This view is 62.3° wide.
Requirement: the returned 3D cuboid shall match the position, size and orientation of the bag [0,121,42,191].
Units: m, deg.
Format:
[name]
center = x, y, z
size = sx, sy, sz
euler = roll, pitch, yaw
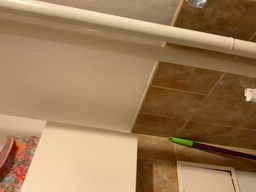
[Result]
[bag]
center = -0.490, 0.290, 0.850
size = 0.180, 0.170, 0.310
euler = 106, 171, -47
